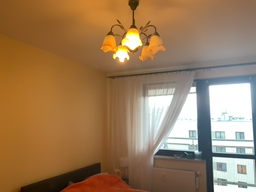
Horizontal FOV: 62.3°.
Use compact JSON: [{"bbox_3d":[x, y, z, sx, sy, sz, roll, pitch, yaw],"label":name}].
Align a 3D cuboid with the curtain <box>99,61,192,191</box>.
[{"bbox_3d":[0.260,0.610,4.010,1.760,2.340,0.180,-3,-6,26],"label":"curtain"}]
